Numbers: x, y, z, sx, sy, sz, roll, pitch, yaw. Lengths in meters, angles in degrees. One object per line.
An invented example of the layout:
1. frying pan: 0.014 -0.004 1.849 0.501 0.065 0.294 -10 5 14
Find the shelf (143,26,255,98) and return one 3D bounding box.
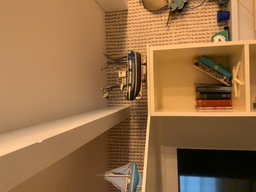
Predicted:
1. shelf: 1.080 -0.160 1.020 0.490 1.960 0.290 -6 -85 -78
